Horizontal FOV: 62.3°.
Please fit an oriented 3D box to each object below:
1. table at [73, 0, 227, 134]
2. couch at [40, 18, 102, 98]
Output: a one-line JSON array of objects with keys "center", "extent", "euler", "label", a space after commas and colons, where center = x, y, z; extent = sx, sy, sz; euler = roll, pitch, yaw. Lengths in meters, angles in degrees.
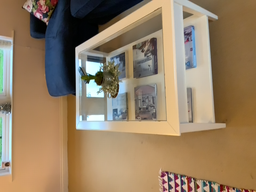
[{"center": [0.060, -0.150, 1.690], "extent": [1.150, 0.510, 0.830], "euler": [-10, 80, 49], "label": "table"}, {"center": [-0.740, -0.410, 2.680], "extent": [0.730, 0.480, 0.770], "euler": [-10, 80, 49], "label": "couch"}]
